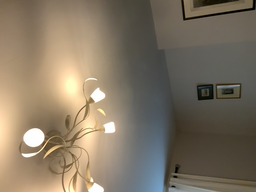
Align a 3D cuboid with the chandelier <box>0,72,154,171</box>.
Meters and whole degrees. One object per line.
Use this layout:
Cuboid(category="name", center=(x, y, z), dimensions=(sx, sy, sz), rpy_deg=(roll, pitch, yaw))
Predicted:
Cuboid(category="chandelier", center=(-0.240, 0.140, 0.930), dimensions=(0.510, 0.740, 0.230), rpy_deg=(-4, -102, 24))
